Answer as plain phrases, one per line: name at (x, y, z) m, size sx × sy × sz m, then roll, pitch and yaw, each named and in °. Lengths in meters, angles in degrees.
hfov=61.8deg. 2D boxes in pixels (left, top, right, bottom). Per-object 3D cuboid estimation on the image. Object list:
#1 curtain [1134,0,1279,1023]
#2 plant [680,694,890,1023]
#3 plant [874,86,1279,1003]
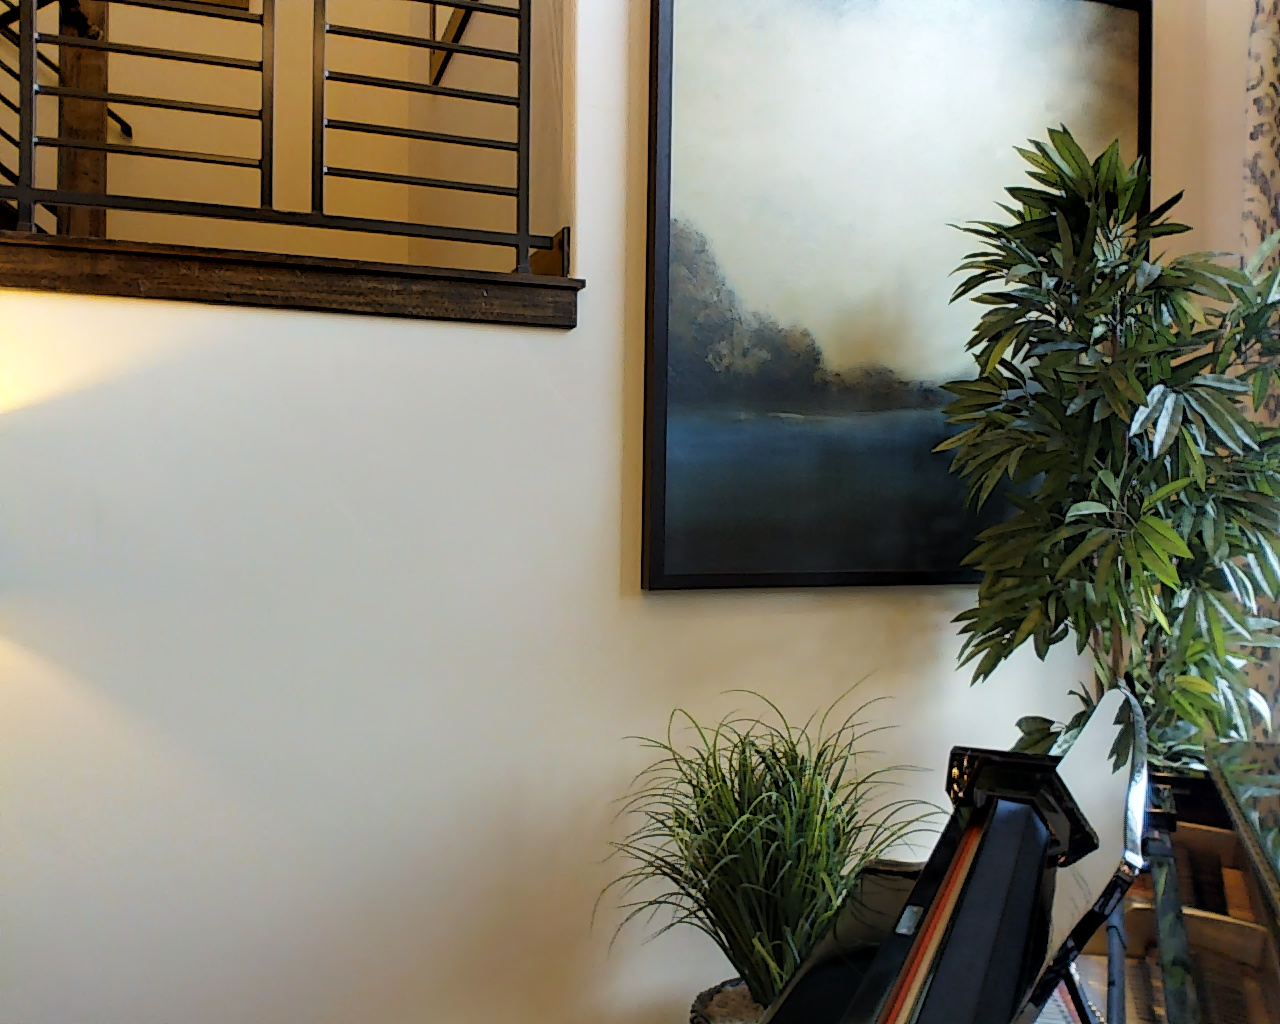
curtain at (1.650, -1.010, 2.640) m, size 0.250 × 4.800 × 0.720 m, roll 1°, pitch 1°, yaw -20°
plant at (0.260, 0.730, 2.120) m, size 0.350 × 0.630 × 0.550 m, roll 1°, pitch 1°, yaw 2°
plant at (1.040, 0.060, 2.330) m, size 0.770 × 1.620 × 0.670 m, roll 1°, pitch 1°, yaw -19°
